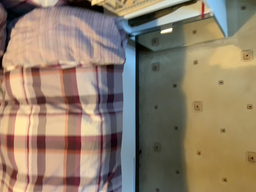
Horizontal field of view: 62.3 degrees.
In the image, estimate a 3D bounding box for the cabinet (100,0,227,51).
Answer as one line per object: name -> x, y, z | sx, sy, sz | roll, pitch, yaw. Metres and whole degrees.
cabinet -> 0.200, -0.490, 1.010 | 0.430, 0.510, 0.380 | -1, 86, 32
